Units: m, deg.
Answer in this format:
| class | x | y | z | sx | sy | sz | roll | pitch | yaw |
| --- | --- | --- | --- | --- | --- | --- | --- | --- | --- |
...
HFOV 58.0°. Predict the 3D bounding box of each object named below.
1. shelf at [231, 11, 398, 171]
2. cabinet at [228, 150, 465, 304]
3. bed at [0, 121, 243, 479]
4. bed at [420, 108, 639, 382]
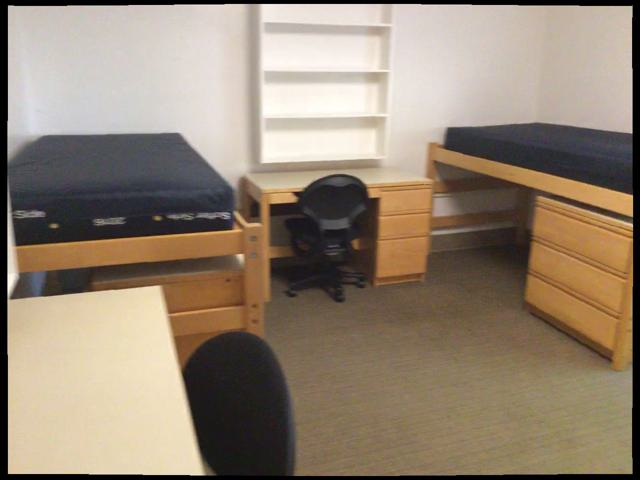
| class | x | y | z | sx | sy | sz | roll | pitch | yaw |
| --- | --- | --- | --- | --- | --- | --- | --- | --- | --- |
| shelf | -0.030 | -1.072 | 4.140 | 1.118 | 1.042 | 0.280 | -6 | 18 | -16 |
| cabinet | 0.160 | -0.150 | 4.170 | 1.497 | 0.801 | 0.750 | -6 | 18 | -16 |
| bed | -1.168 | 0.070 | 3.050 | 1.098 | 1.112 | 2.240 | -6 | 19 | -16 |
| bed | 1.667 | -0.200 | 3.820 | 1.088 | 1.112 | 2.180 | -6 | 19 | -16 |
